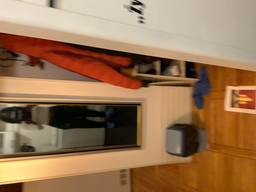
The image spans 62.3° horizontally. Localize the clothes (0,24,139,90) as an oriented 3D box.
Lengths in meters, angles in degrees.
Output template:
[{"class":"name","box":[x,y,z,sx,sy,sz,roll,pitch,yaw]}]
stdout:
[{"class":"clothes","box":[-0.460,-0.250,1.670,0.350,1.060,0.340,-2,86,62]}]
